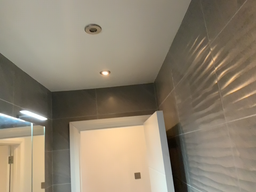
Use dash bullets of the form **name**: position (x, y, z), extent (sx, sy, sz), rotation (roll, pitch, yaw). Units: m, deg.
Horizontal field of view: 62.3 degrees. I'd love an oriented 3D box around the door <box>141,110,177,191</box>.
- **door**: position (0.290, 1.150, 1.580), extent (0.070, 1.970, 0.840), rotation (-5, -13, -4)
